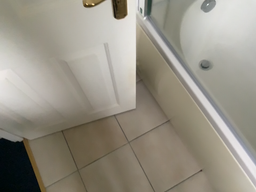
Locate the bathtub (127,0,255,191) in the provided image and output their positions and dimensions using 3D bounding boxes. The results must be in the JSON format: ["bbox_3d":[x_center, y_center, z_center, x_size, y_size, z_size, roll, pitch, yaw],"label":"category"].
[{"bbox_3d":[0.740,0.280,0.980,0.720,0.540,1.740,-28,70,-10],"label":"bathtub"}]
